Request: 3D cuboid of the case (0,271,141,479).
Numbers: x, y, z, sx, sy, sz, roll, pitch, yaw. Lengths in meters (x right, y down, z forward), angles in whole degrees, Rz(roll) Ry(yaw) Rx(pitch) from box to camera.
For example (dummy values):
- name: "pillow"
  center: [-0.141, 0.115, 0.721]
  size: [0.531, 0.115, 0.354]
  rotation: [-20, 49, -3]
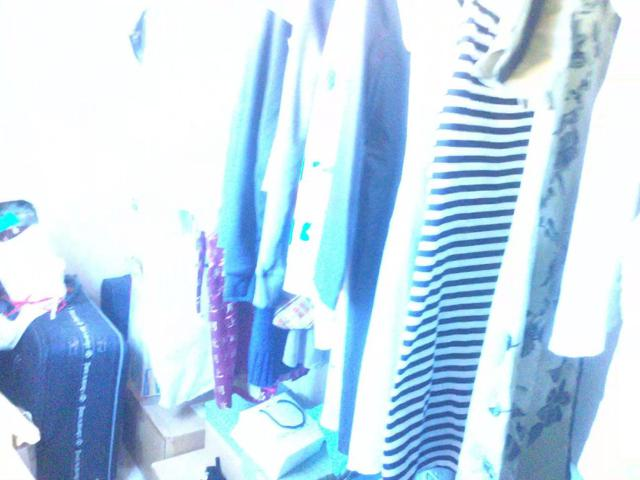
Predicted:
- name: "case"
  center: [-0.870, 0.500, 1.950]
  size: [0.320, 0.640, 0.500]
  rotation: [-10, 18, -38]
